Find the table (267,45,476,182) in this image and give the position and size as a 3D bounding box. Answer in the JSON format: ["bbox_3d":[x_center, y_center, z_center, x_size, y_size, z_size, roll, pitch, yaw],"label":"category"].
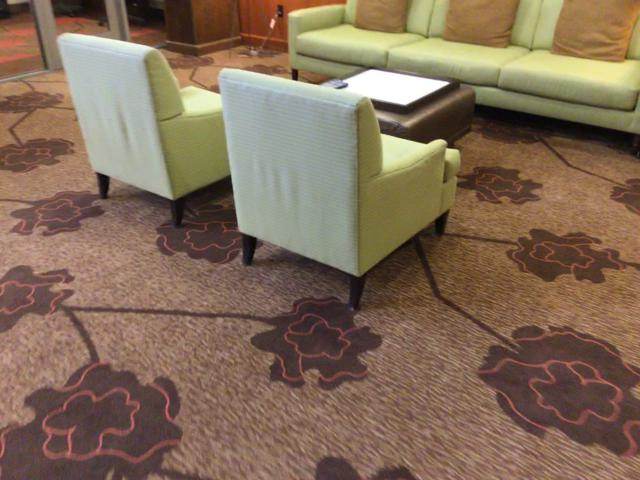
[{"bbox_3d":[0.320,-0.860,3.690,0.930,0.490,0.920,23,35,32],"label":"table"}]

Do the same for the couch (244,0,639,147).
[{"bbox_3d":[0.980,-1.730,4.420,3.080,0.900,1.170,24,35,27],"label":"couch"}]

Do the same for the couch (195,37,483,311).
[{"bbox_3d":[0.090,-0.370,2.560,0.770,0.800,0.940,23,35,32],"label":"couch"}]

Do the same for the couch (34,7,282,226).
[{"bbox_3d":[-0.800,-0.720,3.090,0.740,0.830,0.940,23,35,32],"label":"couch"}]
